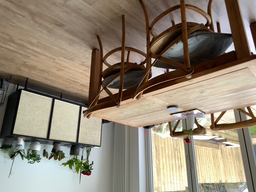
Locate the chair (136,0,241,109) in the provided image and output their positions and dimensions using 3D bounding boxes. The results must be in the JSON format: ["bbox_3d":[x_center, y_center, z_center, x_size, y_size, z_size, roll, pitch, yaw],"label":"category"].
[{"bbox_3d":[0.410,-0.420,1.550,0.470,0.870,0.520,-18,153,40],"label":"chair"}]
